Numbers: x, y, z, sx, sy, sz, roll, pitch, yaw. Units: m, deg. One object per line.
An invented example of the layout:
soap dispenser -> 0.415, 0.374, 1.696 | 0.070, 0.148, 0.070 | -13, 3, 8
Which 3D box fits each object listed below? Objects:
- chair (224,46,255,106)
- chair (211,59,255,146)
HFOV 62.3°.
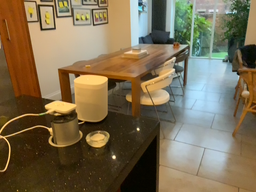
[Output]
chair -> 2.010, -0.350, 3.420 | 0.680, 0.770, 0.780 | 10, 24, 26
chair -> 1.400, 0.050, 2.420 | 0.630, 0.770, 0.610 | 12, 25, 32
